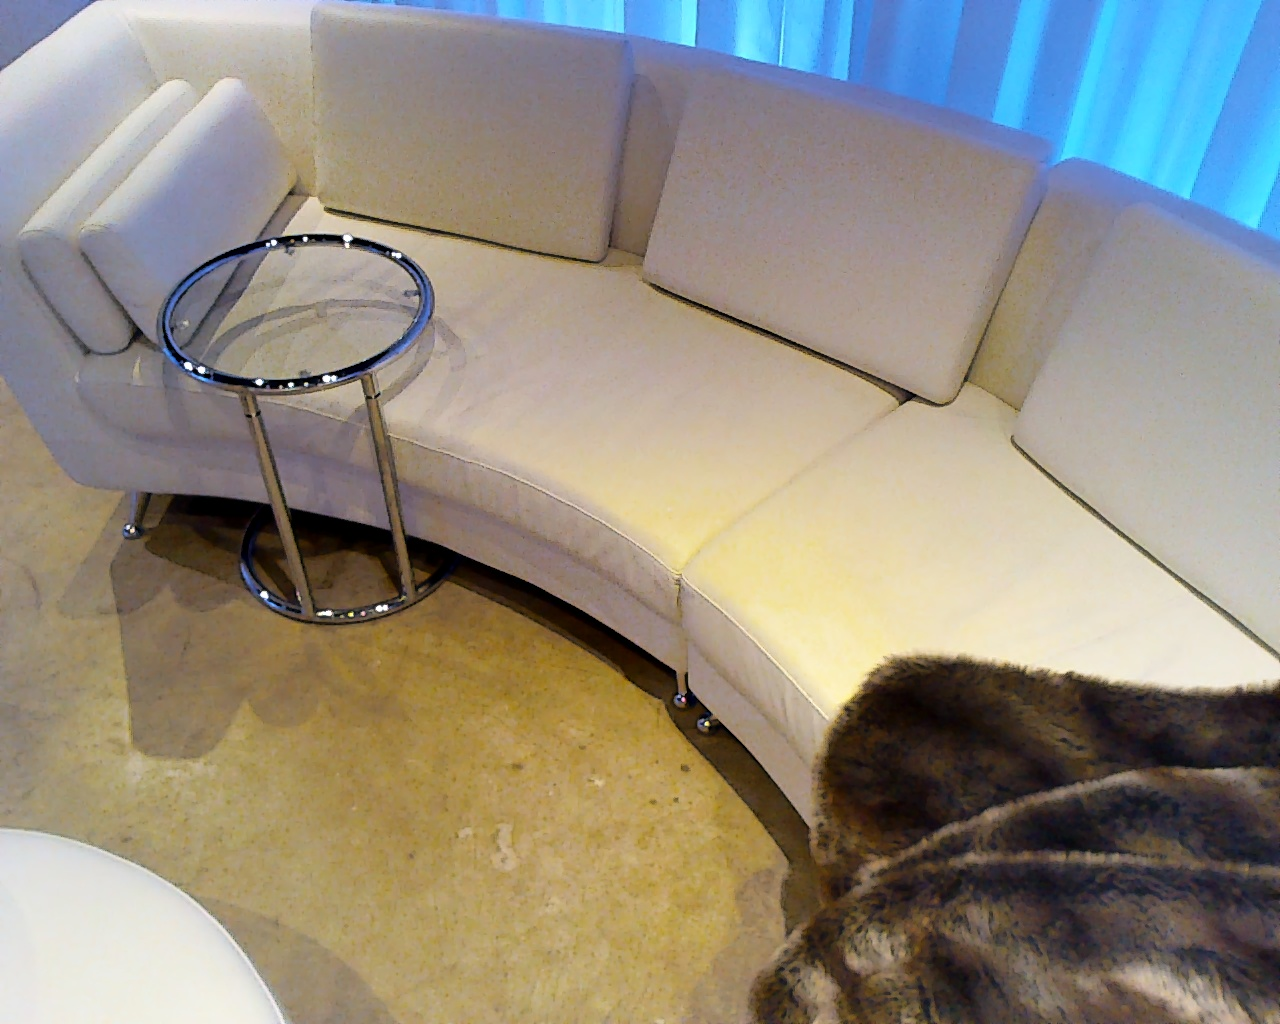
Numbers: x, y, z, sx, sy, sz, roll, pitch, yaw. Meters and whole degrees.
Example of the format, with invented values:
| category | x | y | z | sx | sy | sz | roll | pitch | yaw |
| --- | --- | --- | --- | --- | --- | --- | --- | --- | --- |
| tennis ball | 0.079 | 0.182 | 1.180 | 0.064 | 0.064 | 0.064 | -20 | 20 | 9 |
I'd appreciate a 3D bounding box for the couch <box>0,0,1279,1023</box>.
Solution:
| category | x | y | z | sx | sy | sz | roll | pitch | yaw |
| --- | --- | --- | --- | --- | --- | --- | --- | --- | --- |
| couch | -0.030 | 0.670 | 0.830 | 2.770 | 0.860 | 4.460 | 4 | 43 | 4 |
